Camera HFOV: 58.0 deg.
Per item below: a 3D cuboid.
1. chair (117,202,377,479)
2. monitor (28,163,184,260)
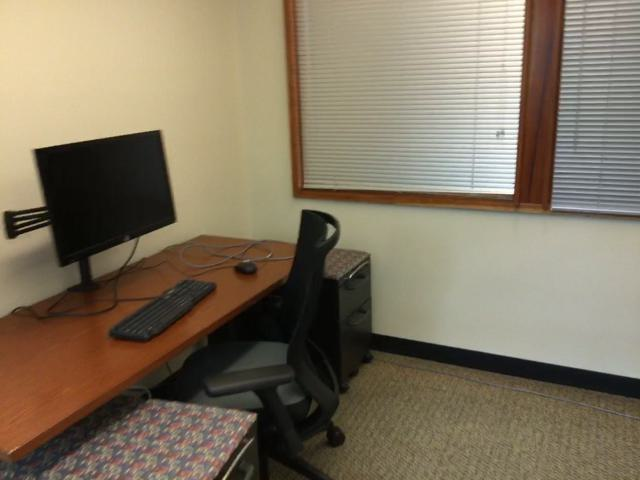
[{"bbox_3d":[-0.240,0.400,1.930,0.670,0.940,0.690,-4,12,-12],"label":"chair"},{"bbox_3d":[-0.650,-0.110,1.840,0.100,0.230,0.530,4,13,25],"label":"monitor"}]
